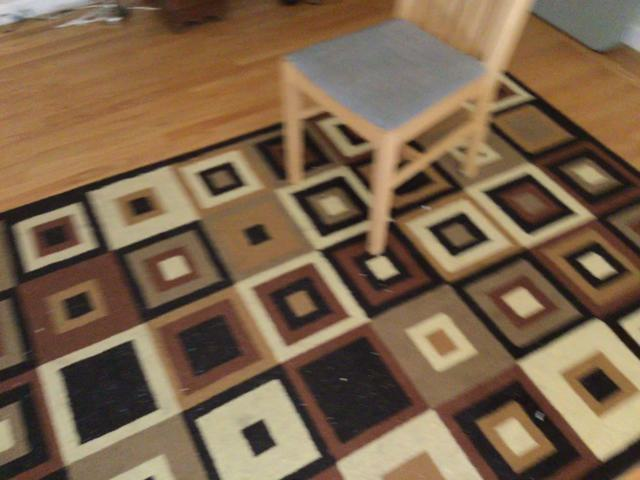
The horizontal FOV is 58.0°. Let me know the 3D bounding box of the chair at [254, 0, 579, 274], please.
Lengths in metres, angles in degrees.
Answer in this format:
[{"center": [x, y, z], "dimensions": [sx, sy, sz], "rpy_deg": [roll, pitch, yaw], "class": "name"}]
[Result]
[{"center": [0.240, -0.510, 1.530], "dimensions": [0.630, 0.940, 0.500], "rpy_deg": [-31, 55, -24], "class": "chair"}]
